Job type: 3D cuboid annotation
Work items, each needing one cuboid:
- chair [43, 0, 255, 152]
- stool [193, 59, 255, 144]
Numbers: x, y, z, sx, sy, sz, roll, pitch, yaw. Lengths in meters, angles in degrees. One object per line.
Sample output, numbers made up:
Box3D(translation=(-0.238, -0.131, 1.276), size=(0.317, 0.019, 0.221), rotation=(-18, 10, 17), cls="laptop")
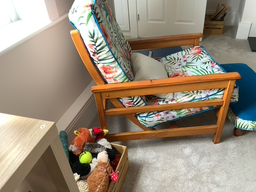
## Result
Box3D(translation=(0.120, -0.200, 1.370), size=(0.900, 0.880, 0.620), rotation=(-4, 36, 1), cls="chair")
Box3D(translation=(0.810, 0.000, 1.570), size=(0.390, 0.230, 0.650), rotation=(-9, 37, -5), cls="stool")
